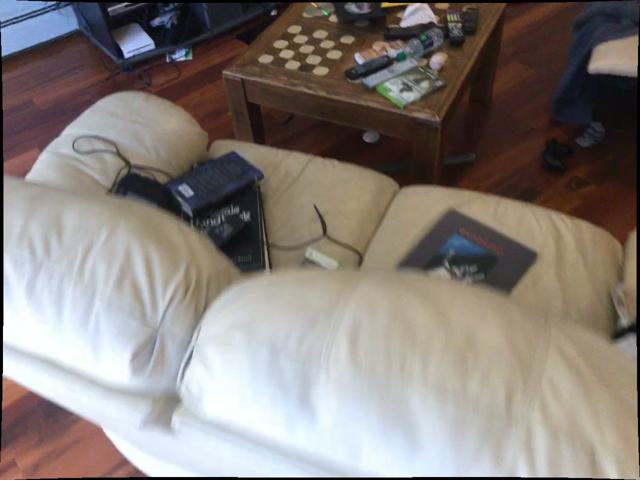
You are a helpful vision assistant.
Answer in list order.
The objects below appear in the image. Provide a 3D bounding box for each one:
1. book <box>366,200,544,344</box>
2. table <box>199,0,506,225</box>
[{"bbox_3d":[0.320,0.060,1.370,0.320,0.030,0.270,-34,55,-24],"label":"book"},{"bbox_3d":[0.190,-0.671,2.320,0.889,0.480,0.990,15,51,16],"label":"table"}]
